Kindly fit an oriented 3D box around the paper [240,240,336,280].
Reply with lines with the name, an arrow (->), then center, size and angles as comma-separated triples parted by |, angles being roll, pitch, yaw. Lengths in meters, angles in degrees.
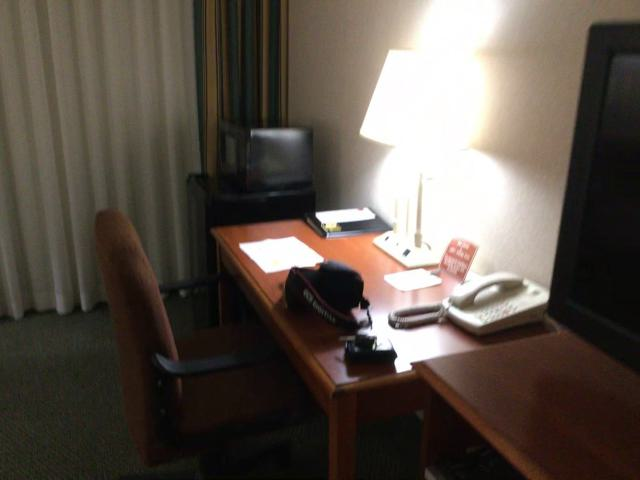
paper -> -0.110, 0.060, 1.880 | 0.230, 0.020, 0.280 | -5, 19, -23
